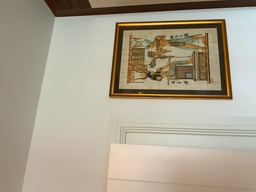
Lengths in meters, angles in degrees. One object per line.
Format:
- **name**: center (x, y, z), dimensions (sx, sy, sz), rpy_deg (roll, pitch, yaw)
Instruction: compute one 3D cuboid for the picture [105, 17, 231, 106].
- **picture**: center (0.220, -0.210, 1.230), dimensions (0.050, 0.660, 0.520), rpy_deg (65, -153, -71)
